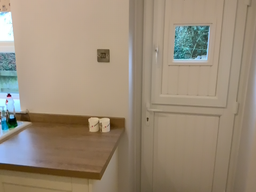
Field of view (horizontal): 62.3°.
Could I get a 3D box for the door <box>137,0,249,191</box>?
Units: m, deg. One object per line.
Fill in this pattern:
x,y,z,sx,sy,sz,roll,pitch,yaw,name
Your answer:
0.480,0.040,1.770,0.790,2.060,0.030,2,13,10,door
